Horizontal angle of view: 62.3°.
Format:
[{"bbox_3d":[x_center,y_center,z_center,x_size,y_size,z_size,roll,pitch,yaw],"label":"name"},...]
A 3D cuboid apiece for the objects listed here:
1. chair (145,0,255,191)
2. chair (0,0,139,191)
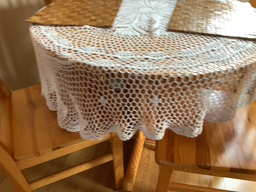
[{"bbox_3d":[0.360,0.070,0.810,0.520,0.900,0.460,5,40,6],"label":"chair"},{"bbox_3d":[-0.320,0.050,0.810,0.530,0.920,0.490,-15,42,-18],"label":"chair"}]
